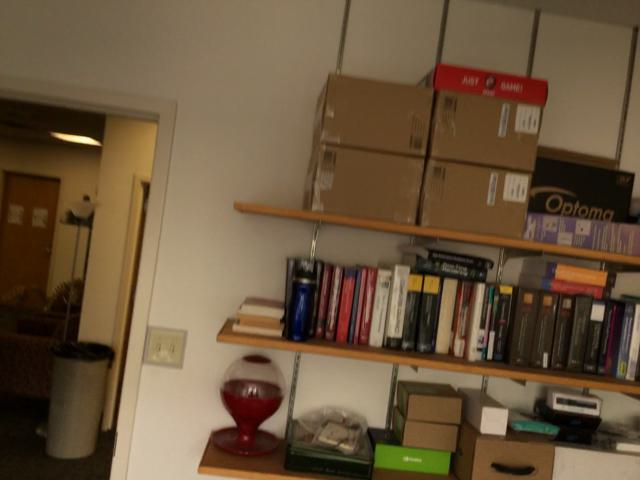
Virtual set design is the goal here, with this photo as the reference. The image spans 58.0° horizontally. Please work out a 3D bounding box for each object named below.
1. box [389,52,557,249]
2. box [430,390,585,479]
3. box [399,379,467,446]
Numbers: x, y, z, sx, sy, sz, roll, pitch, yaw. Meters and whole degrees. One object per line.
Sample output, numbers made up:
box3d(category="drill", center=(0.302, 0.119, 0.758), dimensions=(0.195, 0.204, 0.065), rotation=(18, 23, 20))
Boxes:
box3d(category="box", center=(0.450, -0.250, 1.760), dimensions=(0.380, 0.500, 0.280), rotation=(7, -4, -2))
box3d(category="box", center=(0.560, 0.640, 1.770), dimensions=(0.370, 0.270, 0.230), rotation=(7, -4, -2))
box3d(category="box", center=(0.360, 0.550, 1.860), dimensions=(0.170, 0.160, 0.150), rotation=(7, -4, -2))
